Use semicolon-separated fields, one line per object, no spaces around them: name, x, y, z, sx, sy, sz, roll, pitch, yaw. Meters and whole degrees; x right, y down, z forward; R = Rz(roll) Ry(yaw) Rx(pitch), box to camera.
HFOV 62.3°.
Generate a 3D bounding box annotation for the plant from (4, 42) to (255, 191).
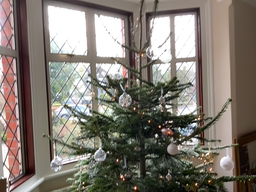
plant;0.130;0.690;1.560;1.470;1.760;1.260;-5;3;-42
